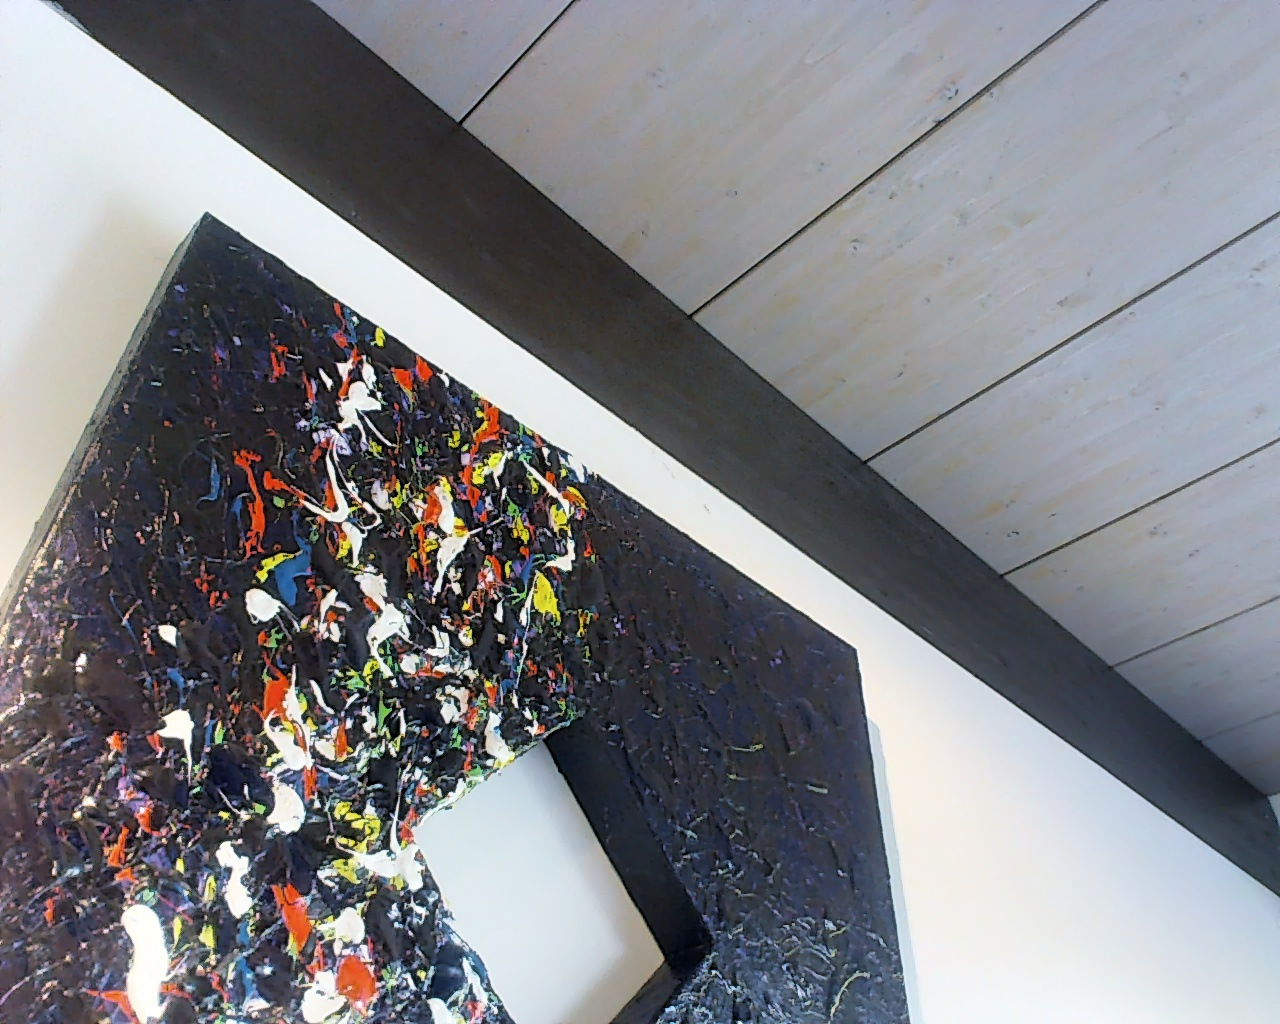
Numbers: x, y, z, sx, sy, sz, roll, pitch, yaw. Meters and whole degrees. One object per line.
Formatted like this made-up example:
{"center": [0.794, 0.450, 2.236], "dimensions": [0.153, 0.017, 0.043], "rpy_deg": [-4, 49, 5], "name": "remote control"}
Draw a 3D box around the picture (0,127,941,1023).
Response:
{"center": [-0.080, 0.380, 1.160], "dimensions": [1.270, 1.360, 0.090], "rpy_deg": [34, -51, -31], "name": "picture"}
